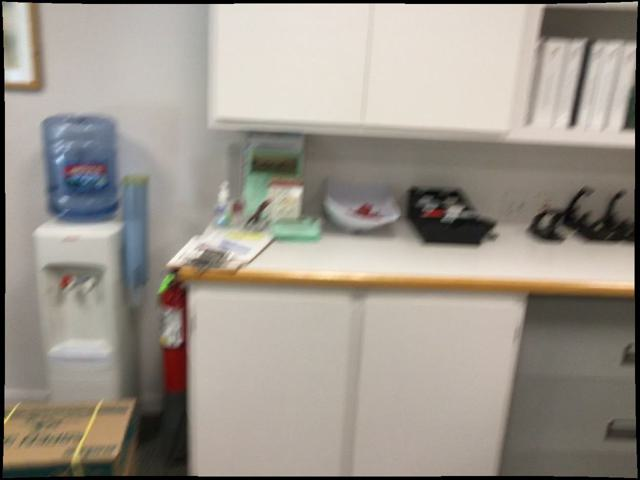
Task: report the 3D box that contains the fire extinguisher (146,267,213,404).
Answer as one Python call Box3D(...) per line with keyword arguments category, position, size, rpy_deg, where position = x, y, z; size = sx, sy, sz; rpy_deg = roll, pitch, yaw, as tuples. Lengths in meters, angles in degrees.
Box3D(category="fire extinguisher", position=(-0.450, 0.310, 1.890), size=(0.170, 0.400, 0.170), rpy_deg=(3, 19, -1))

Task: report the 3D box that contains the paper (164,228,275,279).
Box3D(category="paper", position=(-0.320, 0.040, 1.910), size=(0.320, 0.060, 0.270), rpy_deg=(3, 19, -1))

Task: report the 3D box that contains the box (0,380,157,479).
Box3D(category="box", position=(-0.799, 0.681, 1.750), size=(0.499, 0.330, 0.370), rpy_deg=(3, 19, -1))
